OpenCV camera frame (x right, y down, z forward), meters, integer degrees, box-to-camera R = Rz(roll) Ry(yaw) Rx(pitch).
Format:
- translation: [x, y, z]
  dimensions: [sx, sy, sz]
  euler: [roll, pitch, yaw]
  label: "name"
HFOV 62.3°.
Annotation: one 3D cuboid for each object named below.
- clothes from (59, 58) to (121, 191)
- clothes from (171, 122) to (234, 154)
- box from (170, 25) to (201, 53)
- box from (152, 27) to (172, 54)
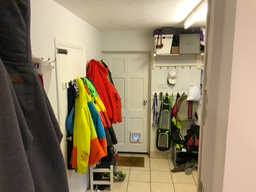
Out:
- translation: [-0.390, 0.290, 3.090]
  dimensions: [0.380, 1.620, 2.040]
  euler: [0, 9, 3]
  label: "clothes"
- translation: [1.250, 0.720, 3.660]
  dimensions: [0.950, 0.430, 0.310]
  euler: [1, 9, 6]
  label: "clothes"
- translation: [0.920, -0.910, 3.450]
  dimensions: [0.420, 0.410, 0.340]
  euler: [1, 9, 6]
  label: "box"
- translation: [0.550, -0.900, 3.510]
  dimensions: [0.290, 0.400, 0.400]
  euler: [1, 9, 4]
  label: "box"
